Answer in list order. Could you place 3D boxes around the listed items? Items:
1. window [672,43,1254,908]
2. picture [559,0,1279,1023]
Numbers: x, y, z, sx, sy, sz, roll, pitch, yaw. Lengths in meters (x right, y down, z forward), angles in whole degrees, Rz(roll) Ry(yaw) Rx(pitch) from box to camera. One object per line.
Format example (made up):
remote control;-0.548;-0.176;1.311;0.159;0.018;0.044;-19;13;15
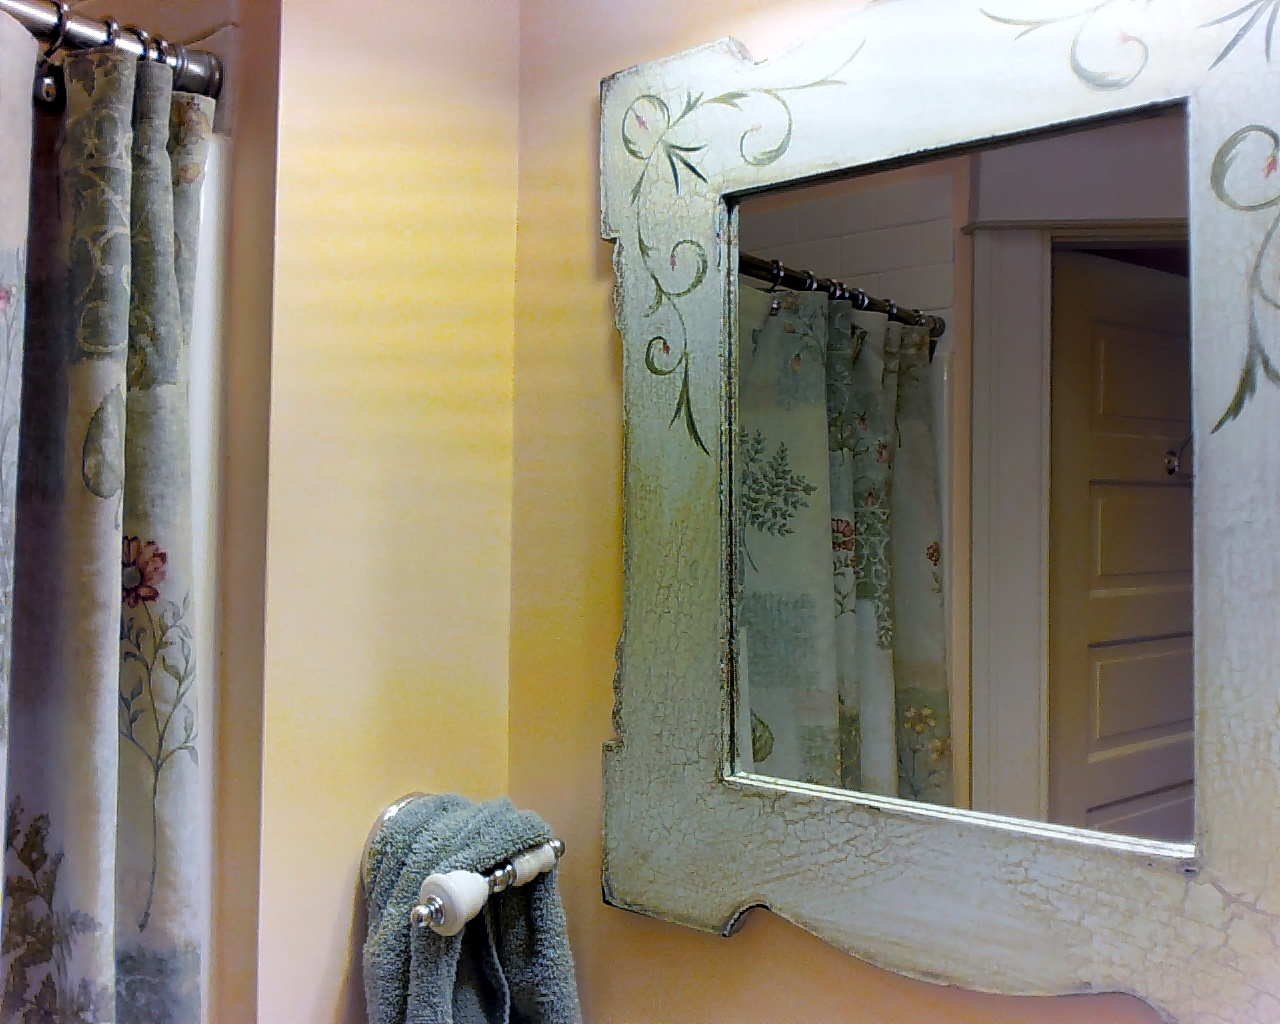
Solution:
window;0.180;-0.020;0.690;0.370;0.460;0.020;0;-1;36
picture;0.170;-0.010;0.680;0.540;0.660;0.040;0;-1;36
